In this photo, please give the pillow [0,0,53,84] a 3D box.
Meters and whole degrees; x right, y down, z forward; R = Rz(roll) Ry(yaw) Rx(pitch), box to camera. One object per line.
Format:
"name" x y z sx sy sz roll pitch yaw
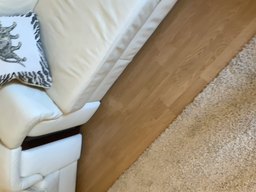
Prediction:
"pillow" -0.550 -0.230 0.990 0.230 0.260 0.330 -3 93 27
